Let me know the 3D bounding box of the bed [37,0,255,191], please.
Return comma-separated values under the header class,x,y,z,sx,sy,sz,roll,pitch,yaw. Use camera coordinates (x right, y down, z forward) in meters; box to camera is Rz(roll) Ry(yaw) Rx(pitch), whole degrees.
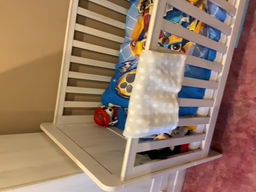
class,x,y,z,sx,sy,sz,roll,pitch,yaw
bed,0.140,-0.380,1.280,0.780,0.910,1.590,19,103,46
